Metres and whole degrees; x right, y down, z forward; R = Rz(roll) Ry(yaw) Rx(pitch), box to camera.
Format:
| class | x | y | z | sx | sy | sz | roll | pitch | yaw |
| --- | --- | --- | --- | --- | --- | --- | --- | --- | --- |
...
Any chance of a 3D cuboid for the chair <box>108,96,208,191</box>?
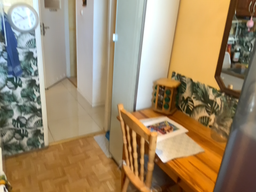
| class | x | y | z | sx | sy | sz | roll | pitch | yaw |
| --- | --- | --- | --- | --- | --- | --- | --- | --- | --- |
| chair | 0.150 | 0.520 | 1.460 | 0.420 | 0.920 | 0.390 | -8 | 25 | -29 |
